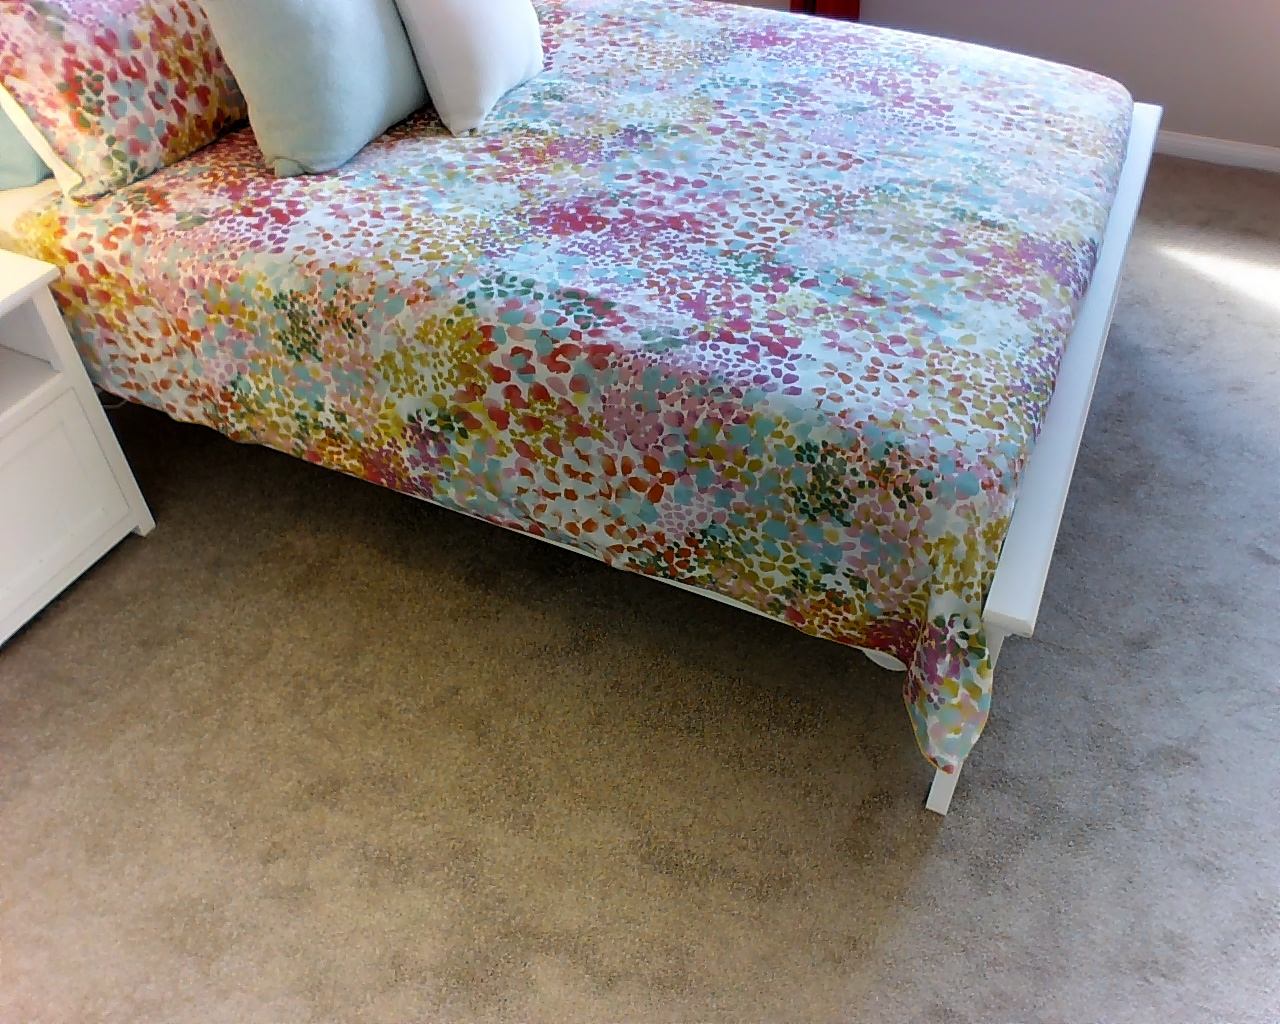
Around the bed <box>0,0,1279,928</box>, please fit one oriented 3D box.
[{"bbox_3d":[-0.130,-0.760,2.160,2.290,1.240,1.940,17,47,19],"label":"bed"}]
